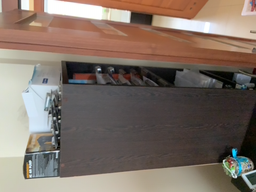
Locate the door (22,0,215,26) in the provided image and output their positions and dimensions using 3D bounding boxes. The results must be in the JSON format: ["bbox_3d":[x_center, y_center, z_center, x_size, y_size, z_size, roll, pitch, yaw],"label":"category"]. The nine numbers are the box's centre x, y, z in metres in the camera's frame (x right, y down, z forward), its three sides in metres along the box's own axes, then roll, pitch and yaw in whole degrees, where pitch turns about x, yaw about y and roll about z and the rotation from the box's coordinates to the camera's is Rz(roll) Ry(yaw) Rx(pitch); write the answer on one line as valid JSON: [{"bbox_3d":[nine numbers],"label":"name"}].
[{"bbox_3d":[-0.050,-1.260,2.550,0.740,2.330,0.100,135,135,-66],"label":"door"}]

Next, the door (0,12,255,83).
[{"bbox_3d":[0.450,-0.250,1.110,0.940,1.840,0.080,-125,40,-63],"label":"door"}]
